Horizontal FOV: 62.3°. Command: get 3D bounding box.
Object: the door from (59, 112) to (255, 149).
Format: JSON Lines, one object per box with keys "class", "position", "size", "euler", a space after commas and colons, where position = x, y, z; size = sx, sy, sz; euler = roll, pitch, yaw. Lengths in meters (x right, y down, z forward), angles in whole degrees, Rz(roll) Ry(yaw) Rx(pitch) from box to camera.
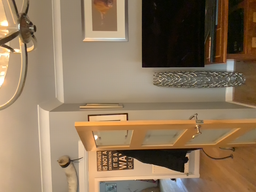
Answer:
{"class": "door", "position": [0.520, 0.320, 1.880], "size": [0.660, 2.060, 0.120], "euler": [101, 168, -64]}
